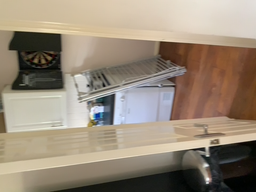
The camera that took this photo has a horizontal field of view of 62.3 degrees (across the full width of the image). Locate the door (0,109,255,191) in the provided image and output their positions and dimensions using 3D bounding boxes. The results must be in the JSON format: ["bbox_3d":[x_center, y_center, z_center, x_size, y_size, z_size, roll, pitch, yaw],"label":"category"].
[{"bbox_3d":[0.140,0.220,1.240,0.700,2.150,0.180,167,100,-69],"label":"door"}]
